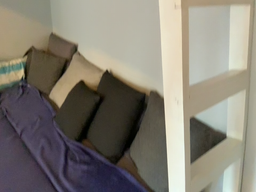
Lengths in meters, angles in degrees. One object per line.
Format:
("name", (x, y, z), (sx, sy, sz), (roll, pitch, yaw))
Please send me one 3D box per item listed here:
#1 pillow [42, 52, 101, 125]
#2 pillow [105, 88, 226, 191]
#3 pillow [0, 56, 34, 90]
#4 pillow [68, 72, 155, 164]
("pillow", (-0.520, -0.060, 1.860), (0.190, 0.470, 0.440), (-11, 69, -45))
("pillow", (0.170, 0.290, 1.230), (0.210, 0.590, 0.370), (-16, 68, -45))
("pillow", (-1.170, -0.230, 2.130), (0.370, 0.290, 0.120), (-15, 54, -41))
("pillow", (-0.140, 0.160, 1.460), (0.390, 0.520, 0.170), (53, 38, 11))
